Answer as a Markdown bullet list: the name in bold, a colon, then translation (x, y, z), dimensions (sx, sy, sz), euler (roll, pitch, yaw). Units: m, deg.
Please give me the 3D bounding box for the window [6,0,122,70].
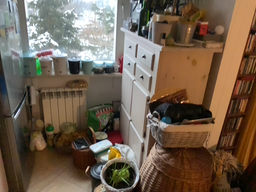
- **window**: translation (-0.640, -0.890, 2.250), dimensions (1.120, 1.210, 0.190), euler (-1, 24, -13)
